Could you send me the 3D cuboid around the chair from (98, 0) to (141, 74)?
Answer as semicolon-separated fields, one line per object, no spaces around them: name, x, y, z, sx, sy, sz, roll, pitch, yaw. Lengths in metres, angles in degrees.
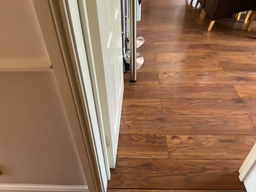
chair;-0.060;-0.670;1.810;0.320;0.930;0.330;-2;41;0
